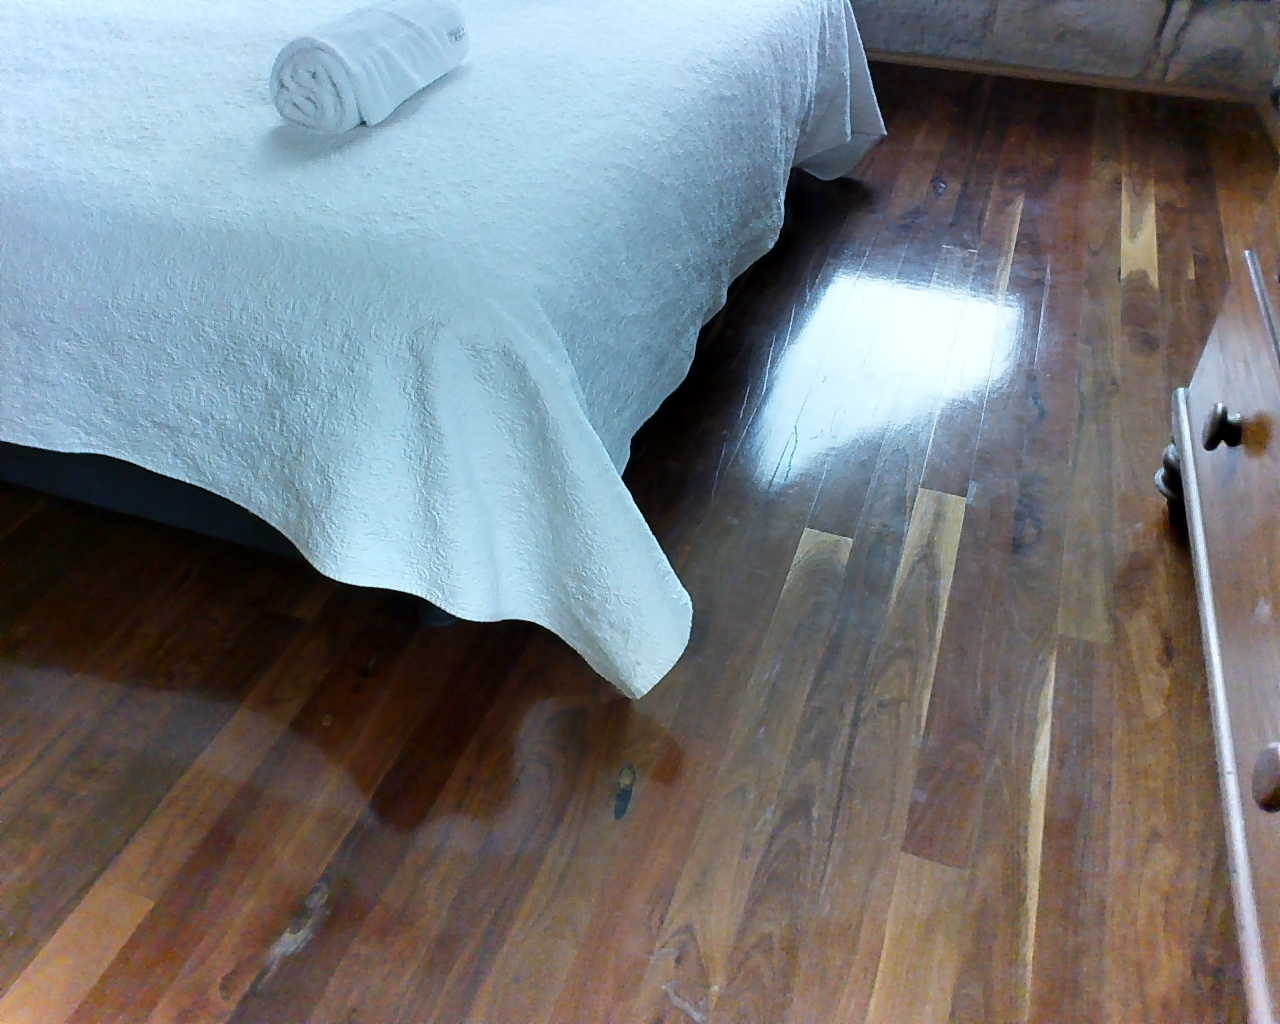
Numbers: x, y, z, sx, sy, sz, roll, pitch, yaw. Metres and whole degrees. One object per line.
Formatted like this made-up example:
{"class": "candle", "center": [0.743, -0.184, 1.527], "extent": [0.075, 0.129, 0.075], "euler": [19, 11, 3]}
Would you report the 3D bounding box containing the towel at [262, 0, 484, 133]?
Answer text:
{"class": "towel", "center": [-0.380, -0.680, 1.590], "extent": [0.170, 0.100, 0.340], "euler": [12, 41, 12]}
